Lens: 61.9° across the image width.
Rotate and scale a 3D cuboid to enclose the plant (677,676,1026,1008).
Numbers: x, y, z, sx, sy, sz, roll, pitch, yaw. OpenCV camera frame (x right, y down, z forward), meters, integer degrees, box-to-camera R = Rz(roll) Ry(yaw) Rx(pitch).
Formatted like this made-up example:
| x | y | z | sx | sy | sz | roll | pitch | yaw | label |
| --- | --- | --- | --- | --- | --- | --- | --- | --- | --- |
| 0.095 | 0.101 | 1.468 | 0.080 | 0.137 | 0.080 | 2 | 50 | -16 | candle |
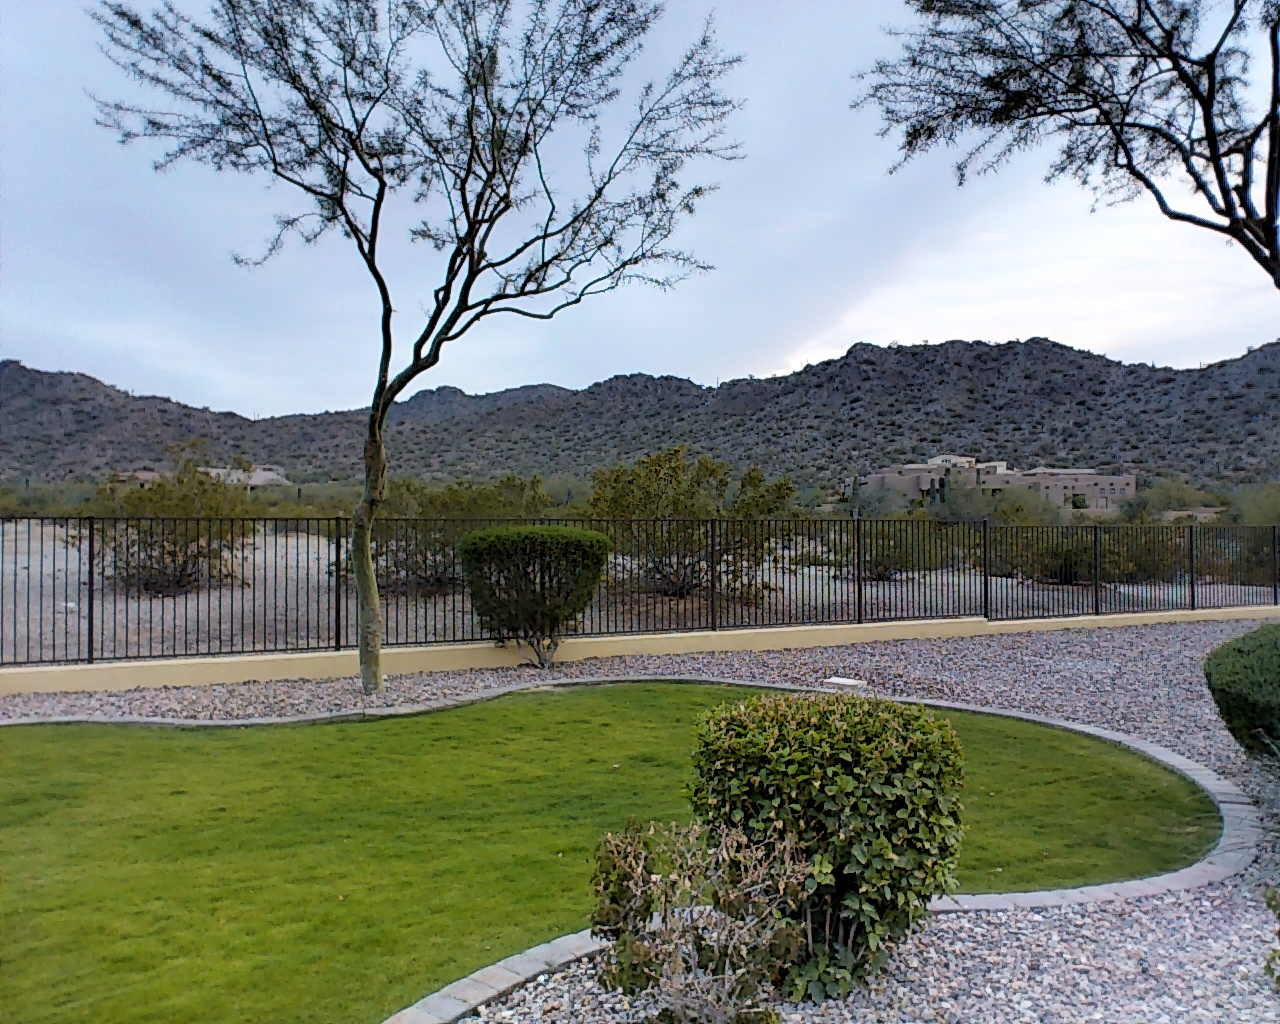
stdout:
| x | y | z | sx | sy | sz | roll | pitch | yaw | label |
| --- | --- | --- | --- | --- | --- | --- | --- | --- | --- |
| 0.800 | 1.300 | 4.460 | 1.250 | 1.070 | 1.020 | 0 | 0 | 0 | plant |
